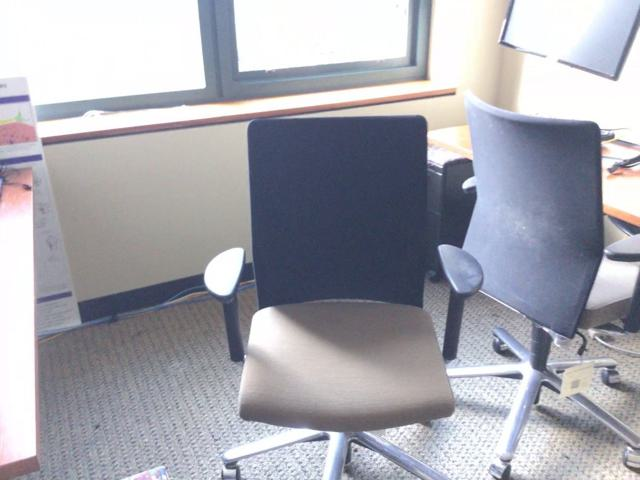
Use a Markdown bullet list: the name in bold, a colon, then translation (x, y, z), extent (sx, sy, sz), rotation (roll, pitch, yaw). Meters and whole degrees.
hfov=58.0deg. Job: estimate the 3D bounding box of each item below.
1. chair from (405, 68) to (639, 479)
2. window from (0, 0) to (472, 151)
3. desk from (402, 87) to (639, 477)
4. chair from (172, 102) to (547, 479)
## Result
- **chair**: translation (0.680, 0.090, 1.680), extent (0.540, 1.020, 0.700), rotation (-11, 26, -21)
- **window**: translation (-0.490, -1.130, 2.490), extent (2.170, 1.090, 0.850), rotation (-11, 26, -21)
- **desk**: translation (1.010, 0.030, 1.980), extent (0.750, 0.810, 1.500), rotation (-11, 26, -21)
- **chair**: translation (0.060, 0.230, 1.480), extent (0.640, 1.010, 0.670), rotation (-4, 23, -4)
